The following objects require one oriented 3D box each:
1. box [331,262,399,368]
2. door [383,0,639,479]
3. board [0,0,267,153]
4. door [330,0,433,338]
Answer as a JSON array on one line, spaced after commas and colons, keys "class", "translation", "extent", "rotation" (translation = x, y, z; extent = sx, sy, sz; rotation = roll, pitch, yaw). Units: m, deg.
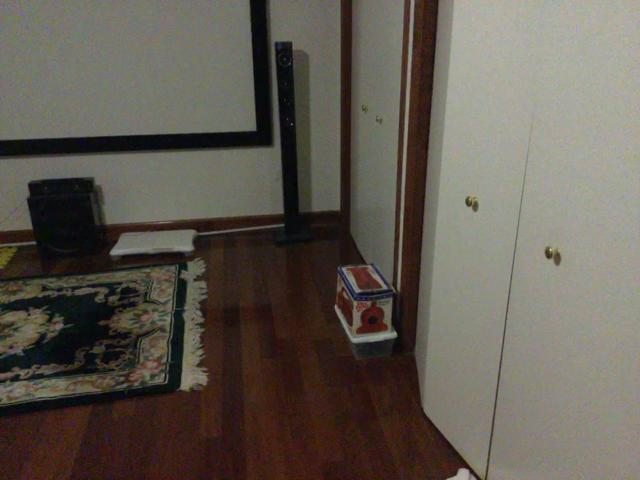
[{"class": "box", "translation": [0.180, 0.310, 2.470], "extent": [0.200, 0.320, 0.330], "rotation": [-2, 22, -10]}, {"class": "door", "translation": [0.500, 0.070, 1.470], "extent": [0.170, 1.590, 1.490], "rotation": [-2, 22, -10]}, {"class": "board", "translation": [-1.410, -1.120, 3.050], "extent": [2.240, 1.310, 0.160], "rotation": [-1, 22, -9]}, {"class": "door", "translation": [0.240, -0.540, 2.840], "extent": [0.090, 1.620, 1.210], "rotation": [-2, 22, -10]}]
